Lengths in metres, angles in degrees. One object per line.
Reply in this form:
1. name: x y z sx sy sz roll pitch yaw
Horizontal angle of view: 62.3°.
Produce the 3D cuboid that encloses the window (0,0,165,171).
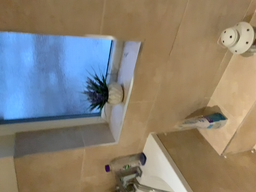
1. window: -0.570 -0.020 0.870 0.310 1.300 0.670 -121 36 -45
